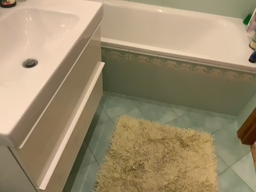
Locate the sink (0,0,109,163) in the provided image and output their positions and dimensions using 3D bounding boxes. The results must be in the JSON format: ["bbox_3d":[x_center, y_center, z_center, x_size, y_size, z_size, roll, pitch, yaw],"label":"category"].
[{"bbox_3d":[-0.430,-0.210,0.860,0.480,0.140,0.860,12,47,6],"label":"sink"}]

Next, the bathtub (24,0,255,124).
[{"bbox_3d":[0.140,-0.370,1.840,1.670,0.530,0.700,12,47,6],"label":"bathtub"}]
